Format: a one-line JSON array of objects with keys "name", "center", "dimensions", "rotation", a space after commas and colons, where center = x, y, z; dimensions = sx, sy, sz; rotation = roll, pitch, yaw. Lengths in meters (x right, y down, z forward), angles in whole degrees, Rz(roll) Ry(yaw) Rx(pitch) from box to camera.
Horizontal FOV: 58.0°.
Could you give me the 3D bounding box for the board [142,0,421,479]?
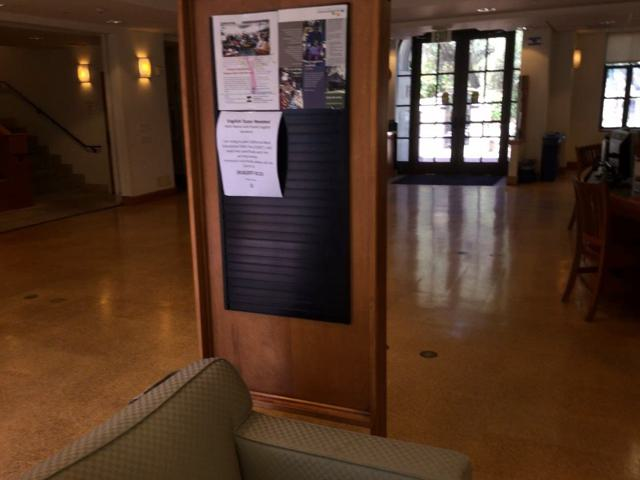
[{"name": "board", "center": [-0.100, 0.120, 1.870], "dimensions": [0.680, 1.840, 0.160], "rotation": [-3, 10, 26]}]
